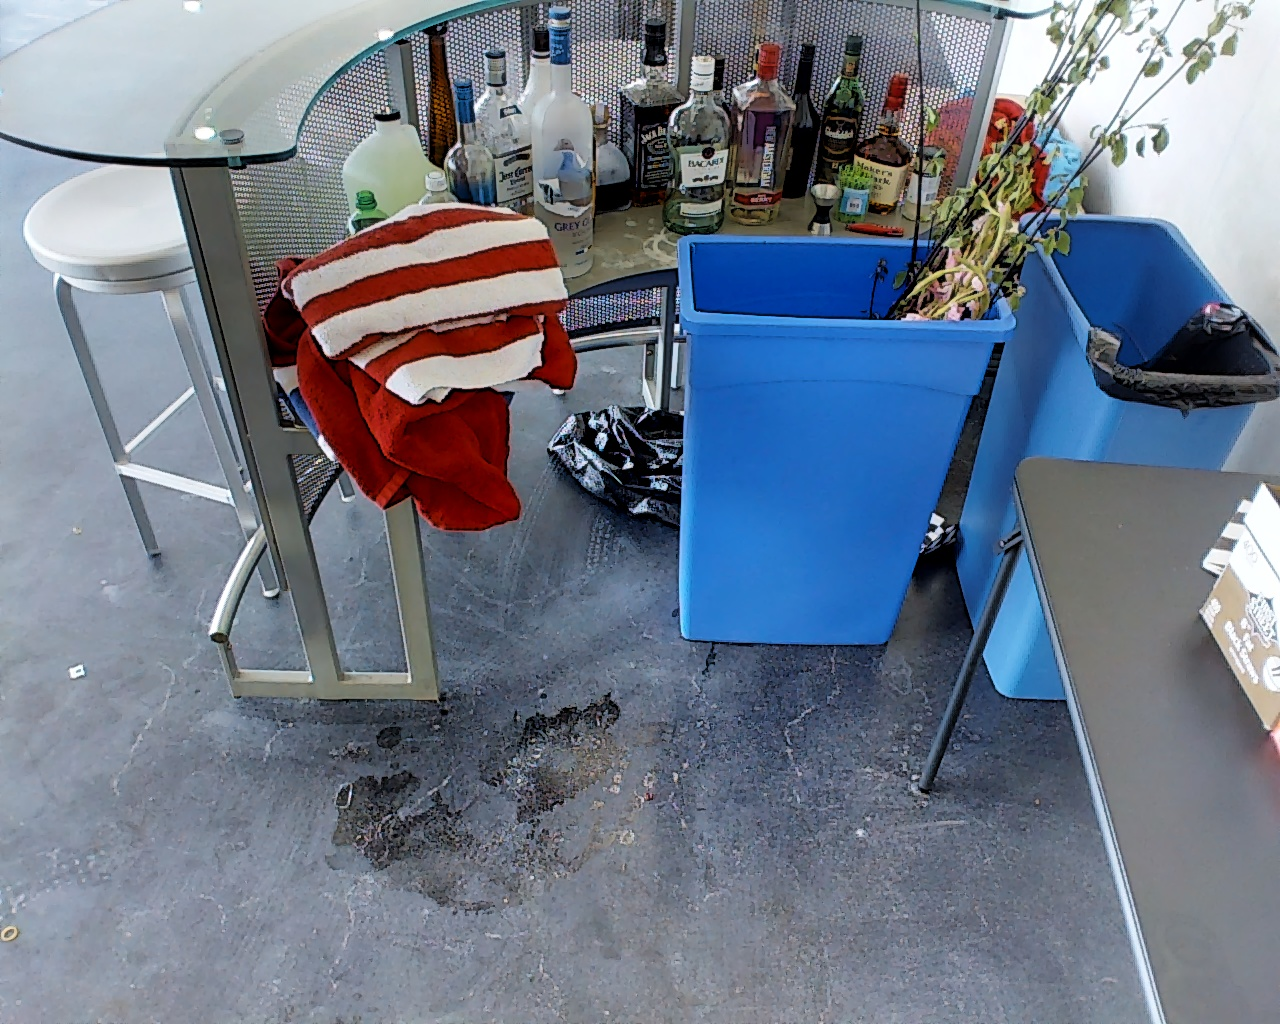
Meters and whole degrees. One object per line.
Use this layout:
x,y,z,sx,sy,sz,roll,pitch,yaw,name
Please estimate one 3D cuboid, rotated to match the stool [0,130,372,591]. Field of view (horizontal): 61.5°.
-0.840,-0.280,2.090,0.380,0.730,0.390,15,44,13,stool
